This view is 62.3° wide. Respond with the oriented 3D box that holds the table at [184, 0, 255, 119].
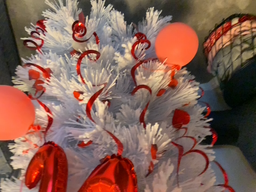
[{"bbox_3d":[0.690,-0.210,1.230,0.430,0.400,0.440,27,125,-36],"label":"table"}]
